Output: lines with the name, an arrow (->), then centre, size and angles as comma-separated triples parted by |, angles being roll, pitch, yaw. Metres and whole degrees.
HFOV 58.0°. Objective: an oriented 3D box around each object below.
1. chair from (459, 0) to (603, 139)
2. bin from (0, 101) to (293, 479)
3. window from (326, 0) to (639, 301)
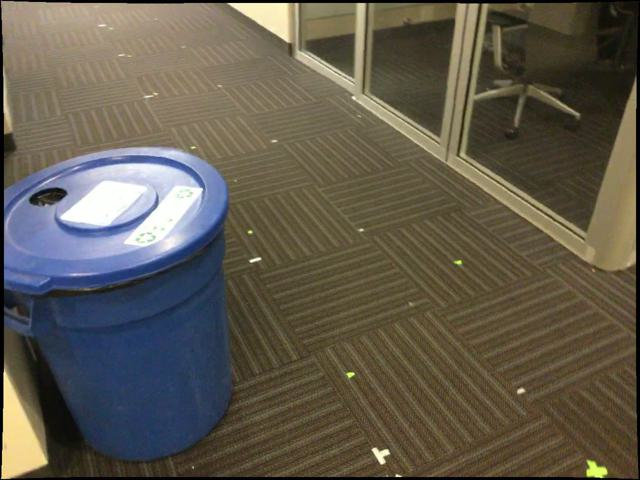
chair -> 1.127, -1.123, 3.040 | 0.569, 0.921, 0.580 | 13, 45, 19
bin -> -0.499, 0.150, 1.550 | 0.599, 0.701, 0.610 | -20, 44, -16
window -> 0.678, -1.103, 2.470 | 0.449, 1.642, 2.211 | -20, 44, -16
